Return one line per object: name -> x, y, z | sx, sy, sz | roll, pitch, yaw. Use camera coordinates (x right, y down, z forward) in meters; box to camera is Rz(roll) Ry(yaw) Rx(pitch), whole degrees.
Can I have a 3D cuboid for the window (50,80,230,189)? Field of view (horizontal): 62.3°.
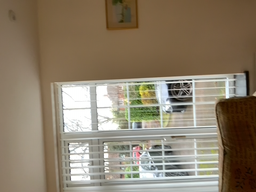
window -> 0.140, 0.400, 2.220 | 0.090, 1.810, 1.060 | -92, -1, -86
